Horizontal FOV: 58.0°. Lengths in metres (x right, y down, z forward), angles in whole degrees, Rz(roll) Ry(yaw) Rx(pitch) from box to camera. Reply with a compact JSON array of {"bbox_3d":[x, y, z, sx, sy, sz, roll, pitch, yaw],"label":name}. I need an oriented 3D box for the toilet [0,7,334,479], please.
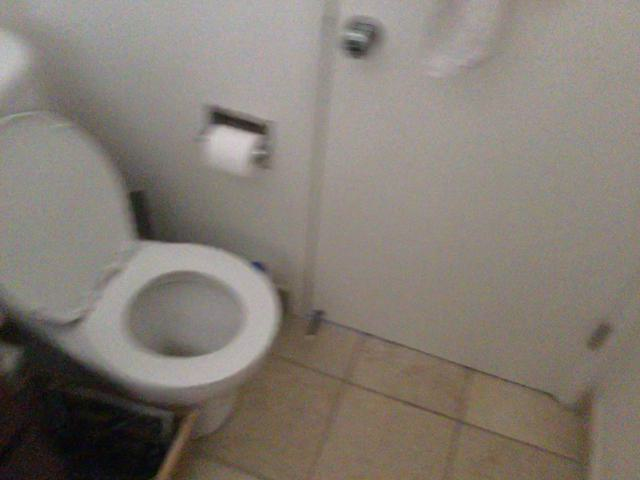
[{"bbox_3d":[-0.430,0.070,1.250,0.750,0.810,0.520,17,48,13],"label":"toilet"}]
